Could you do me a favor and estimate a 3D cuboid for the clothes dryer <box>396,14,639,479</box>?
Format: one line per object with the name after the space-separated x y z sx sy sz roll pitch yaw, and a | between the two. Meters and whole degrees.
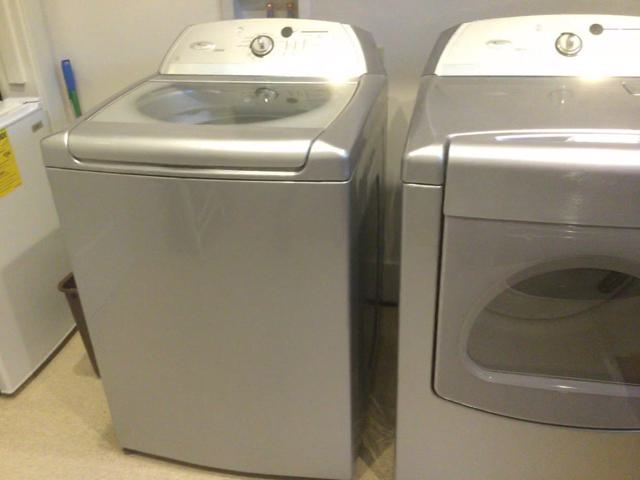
0.590 0.050 1.440 0.730 1.080 0.710 3 27 10 | clothes dryer
